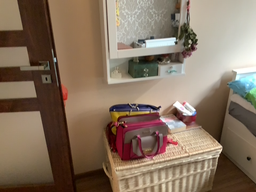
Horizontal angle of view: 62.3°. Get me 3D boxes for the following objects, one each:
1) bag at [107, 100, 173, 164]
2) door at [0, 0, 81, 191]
[{"bbox_3d":[0.070,0.240,1.540,0.360,0.250,0.350,-7,25,-16],"label":"bag"},{"bbox_3d":[-0.830,-0.180,1.180,0.920,2.080,0.120,-3,24,-6],"label":"door"}]
